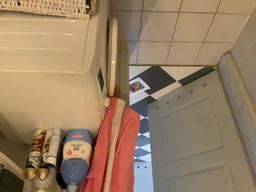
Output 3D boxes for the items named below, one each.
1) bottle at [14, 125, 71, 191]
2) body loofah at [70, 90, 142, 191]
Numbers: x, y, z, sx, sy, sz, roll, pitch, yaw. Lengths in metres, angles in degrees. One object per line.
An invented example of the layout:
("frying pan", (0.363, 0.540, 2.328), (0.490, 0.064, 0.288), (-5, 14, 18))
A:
("bottle", (-0.390, 0.300, 1.020), (0.160, 0.260, 0.190), (0, 144, -2))
("body loofah", (-0.090, 0.430, 1.000), (0.290, 0.940, 0.280), (-1, 144, -1))
